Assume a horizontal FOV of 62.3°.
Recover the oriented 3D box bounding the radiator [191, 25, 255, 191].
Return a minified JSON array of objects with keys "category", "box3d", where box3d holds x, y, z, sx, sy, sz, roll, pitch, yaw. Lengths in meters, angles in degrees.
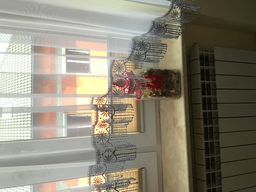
[{"category":"radiator","box3d":[0.710,0.260,1.300,0.230,0.600,1.240,-178,89,-67]}]
